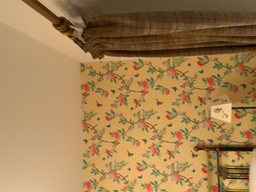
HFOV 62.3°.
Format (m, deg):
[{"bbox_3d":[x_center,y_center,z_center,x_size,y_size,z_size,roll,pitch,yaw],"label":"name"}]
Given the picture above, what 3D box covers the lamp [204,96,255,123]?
[{"bbox_3d":[0.950,0.120,1.910,0.270,0.450,0.220,25,-117,-80],"label":"lamp"}]
